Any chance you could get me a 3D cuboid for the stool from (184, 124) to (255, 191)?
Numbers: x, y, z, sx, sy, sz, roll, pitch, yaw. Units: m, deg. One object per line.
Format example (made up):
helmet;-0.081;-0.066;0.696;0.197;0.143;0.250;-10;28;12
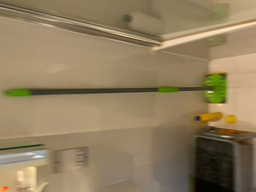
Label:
stool;0.560;0.410;1.250;0.360;0.260;0.430;1;90;52
